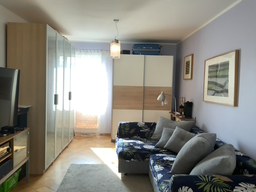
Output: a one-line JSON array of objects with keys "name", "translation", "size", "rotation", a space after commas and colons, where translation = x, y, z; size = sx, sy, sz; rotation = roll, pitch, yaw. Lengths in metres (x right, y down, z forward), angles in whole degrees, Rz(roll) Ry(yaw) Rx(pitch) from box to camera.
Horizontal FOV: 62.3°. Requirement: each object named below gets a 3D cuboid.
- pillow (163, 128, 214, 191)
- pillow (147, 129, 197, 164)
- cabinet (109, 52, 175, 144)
[{"name": "pillow", "translation": [0.790, 0.750, 2.680], "size": [0.360, 0.530, 0.680], "rotation": [-6, 5, 35]}, {"name": "pillow", "translation": [0.730, 0.790, 3.460], "size": [0.710, 0.320, 0.530], "rotation": [4, 5, 23]}, {"name": "cabinet", "translation": [0.310, 0.040, 5.460], "size": [1.530, 2.190, 0.640], "rotation": [2, 4, -2]}]
